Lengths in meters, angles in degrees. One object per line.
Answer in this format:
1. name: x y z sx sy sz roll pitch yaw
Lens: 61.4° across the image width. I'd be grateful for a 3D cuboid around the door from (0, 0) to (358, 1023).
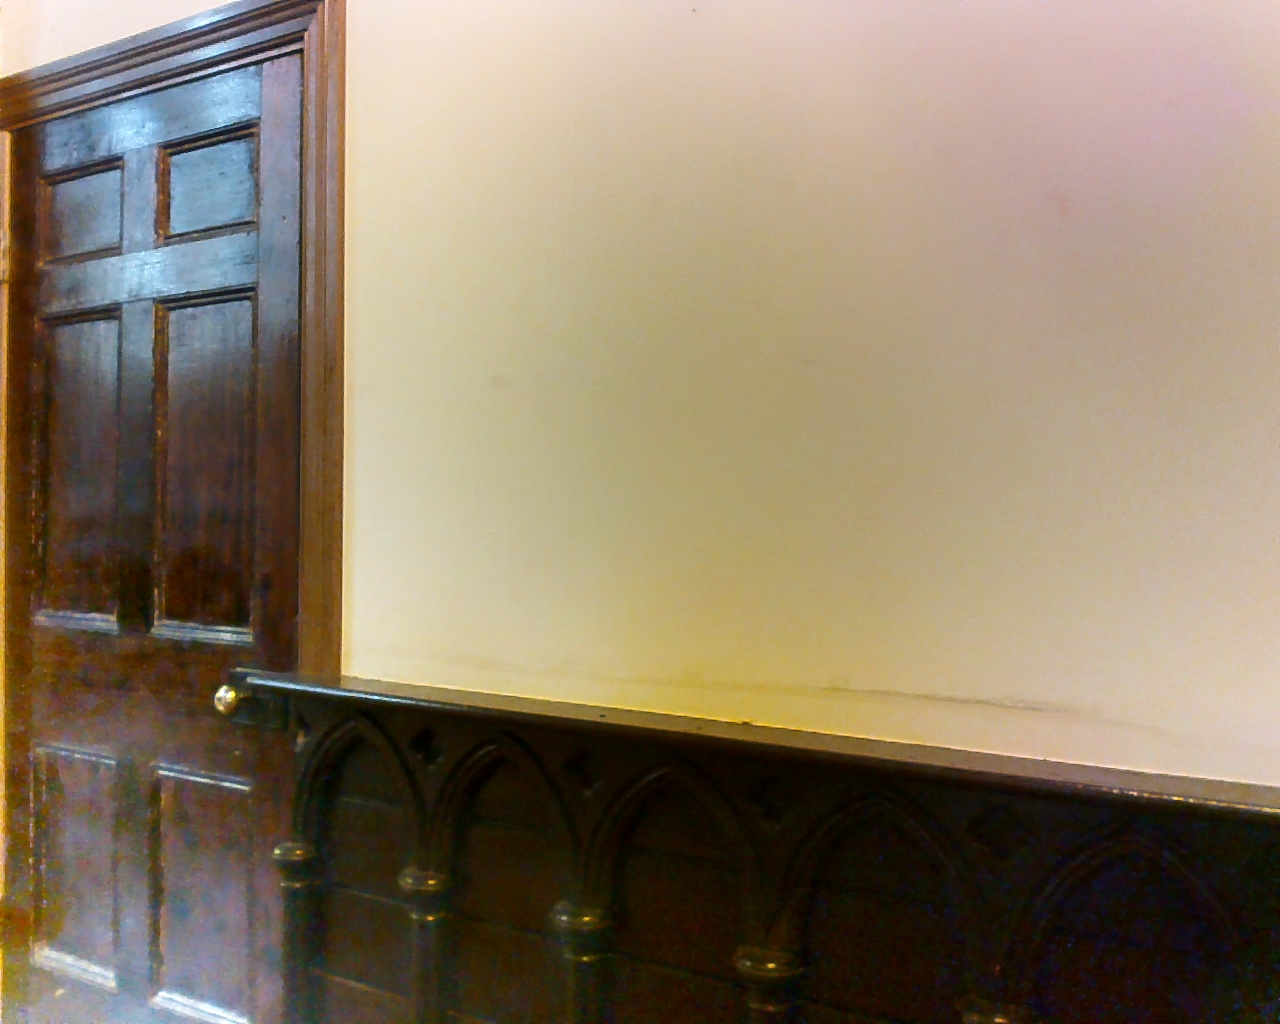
1. door: -0.890 0.160 1.940 0.940 1.941 0.050 1 0 30
